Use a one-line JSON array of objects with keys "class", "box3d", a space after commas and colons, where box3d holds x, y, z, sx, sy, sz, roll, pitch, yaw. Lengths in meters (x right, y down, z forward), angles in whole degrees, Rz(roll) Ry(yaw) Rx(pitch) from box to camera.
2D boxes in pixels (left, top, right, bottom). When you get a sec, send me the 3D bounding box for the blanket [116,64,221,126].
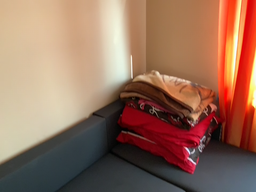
[{"class": "blanket", "box3d": [0.360, -0.060, 1.950, 0.740, 0.230, 0.570, 17, 30, 36]}]
